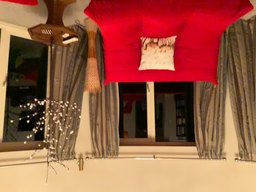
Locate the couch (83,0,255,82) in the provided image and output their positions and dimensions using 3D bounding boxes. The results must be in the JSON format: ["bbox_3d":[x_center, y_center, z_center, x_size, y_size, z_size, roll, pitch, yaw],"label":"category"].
[{"bbox_3d":[0.440,-0.710,2.540,1.690,0.860,1.060,-1,173,2],"label":"couch"}]

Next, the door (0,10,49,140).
[{"bbox_3d":[-1.750,-0.300,2.800,1.310,1.730,0.080,5,170,-40],"label":"door"}]

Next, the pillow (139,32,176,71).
[{"bbox_3d":[0.370,-0.580,2.770,0.450,0.440,0.240,-2,-157,2],"label":"pillow"}]
